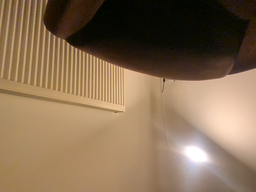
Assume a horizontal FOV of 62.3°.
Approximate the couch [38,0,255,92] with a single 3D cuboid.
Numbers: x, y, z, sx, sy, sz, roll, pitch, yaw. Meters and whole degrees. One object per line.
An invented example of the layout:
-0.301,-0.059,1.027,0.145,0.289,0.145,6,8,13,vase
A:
0.460,-0.560,1.160,1.600,0.750,0.940,6,166,-30,couch
